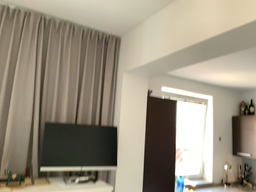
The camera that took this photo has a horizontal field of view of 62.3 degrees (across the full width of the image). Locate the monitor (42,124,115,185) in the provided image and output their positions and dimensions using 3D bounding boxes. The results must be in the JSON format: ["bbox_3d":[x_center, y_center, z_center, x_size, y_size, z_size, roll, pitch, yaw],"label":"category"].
[{"bbox_3d":[-0.340,0.420,1.550,0.500,0.400,0.050,7,-16,-24],"label":"monitor"}]
